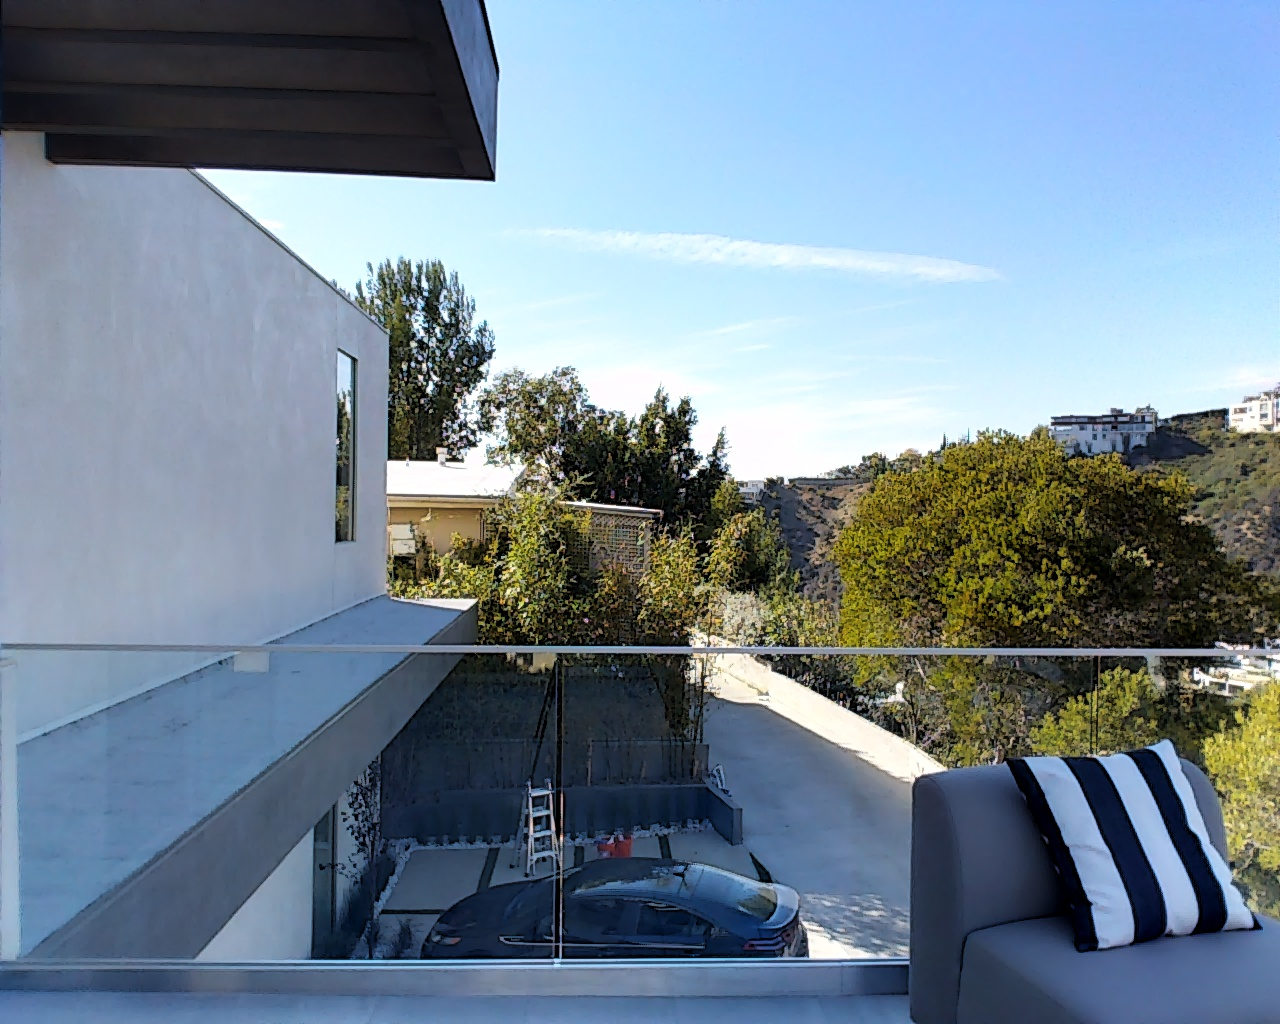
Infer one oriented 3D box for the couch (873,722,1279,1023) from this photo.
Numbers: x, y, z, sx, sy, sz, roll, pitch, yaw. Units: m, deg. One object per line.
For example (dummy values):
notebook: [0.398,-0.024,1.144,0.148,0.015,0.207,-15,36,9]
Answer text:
couch: [1.300,1.110,2.840,0.950,0.860,1.070,0,0,-15]
